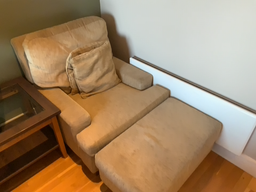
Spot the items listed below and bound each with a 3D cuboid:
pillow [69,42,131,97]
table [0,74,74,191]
[{"bbox_3d":[-0.230,-0.220,1.740,0.450,0.330,0.140,-26,65,-36],"label":"pillow"},{"bbox_3d":[-0.880,0.290,1.590,0.630,0.520,0.600,31,48,34],"label":"table"}]
